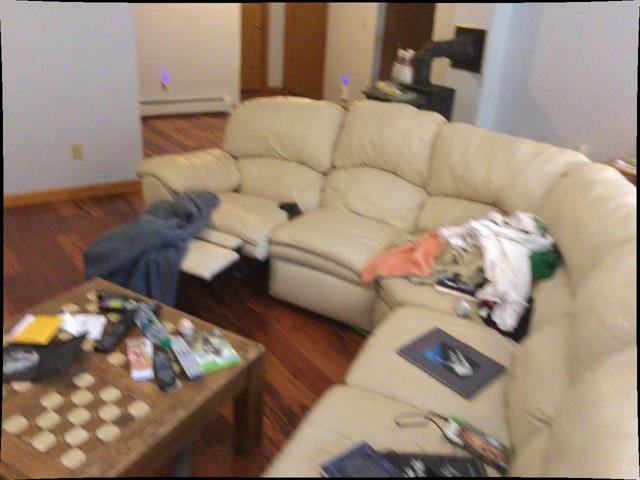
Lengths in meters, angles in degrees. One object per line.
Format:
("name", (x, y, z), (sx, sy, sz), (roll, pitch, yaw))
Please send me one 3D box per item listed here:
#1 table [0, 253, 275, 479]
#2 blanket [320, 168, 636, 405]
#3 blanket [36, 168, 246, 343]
("table", (-0.769, 0.530, 1.880), (0.889, 0.490, 0.900), (15, 25, 21))
("blanket", (0.599, 0.100, 2.460), (0.680, 0.470, 1.050), (-12, 29, -35))
("blanket", (-0.859, 0.030, 2.930), (0.689, 0.520, 0.740), (12, 24, 15))
